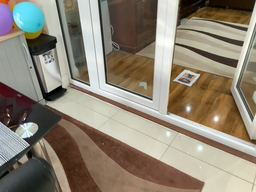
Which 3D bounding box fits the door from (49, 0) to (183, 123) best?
[{"bbox_3d":[-0.180,-0.870,1.570,1.220,2.220,0.100,19,40,27],"label":"door"}]
